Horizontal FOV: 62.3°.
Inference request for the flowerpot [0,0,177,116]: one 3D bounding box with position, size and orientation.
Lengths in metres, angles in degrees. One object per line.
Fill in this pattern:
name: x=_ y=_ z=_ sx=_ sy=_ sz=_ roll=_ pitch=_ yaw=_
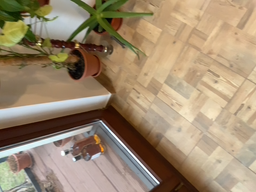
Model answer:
flowerpot: x=-0.430 y=-0.440 z=1.120 sx=0.620 sy=1.370 sz=0.780 roll=36 pitch=116 yaw=28
